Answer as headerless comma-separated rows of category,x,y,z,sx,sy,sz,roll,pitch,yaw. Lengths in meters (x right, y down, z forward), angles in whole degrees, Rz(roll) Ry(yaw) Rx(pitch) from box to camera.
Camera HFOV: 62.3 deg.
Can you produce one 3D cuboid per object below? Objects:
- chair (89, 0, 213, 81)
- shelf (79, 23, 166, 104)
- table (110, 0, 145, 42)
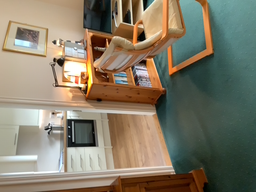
chair,0.180,-0.670,2.170,0.760,0.960,0.770,155,116,-63
shelf,-0.110,-0.420,2.800,0.330,0.950,0.960,123,143,-47
table,-0.020,-1.250,3.360,0.330,0.430,0.620,151,120,-62
